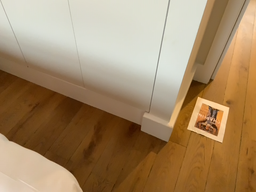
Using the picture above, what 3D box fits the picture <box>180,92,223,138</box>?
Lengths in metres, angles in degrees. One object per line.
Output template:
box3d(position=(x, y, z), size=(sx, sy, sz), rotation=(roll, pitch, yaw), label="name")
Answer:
box3d(position=(0.490, 0.110, 1.390), size=(0.220, 0.001, 0.310), rotation=(20, 51, 14), label="picture")
